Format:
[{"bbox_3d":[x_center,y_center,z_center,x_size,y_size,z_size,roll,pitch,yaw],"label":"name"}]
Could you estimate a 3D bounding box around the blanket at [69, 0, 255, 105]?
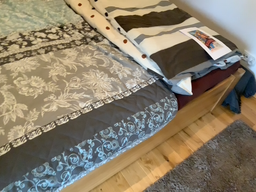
[{"bbox_3d":[0.040,-0.720,1.570,0.740,0.190,1.710,-24,58,-28],"label":"blanket"}]
